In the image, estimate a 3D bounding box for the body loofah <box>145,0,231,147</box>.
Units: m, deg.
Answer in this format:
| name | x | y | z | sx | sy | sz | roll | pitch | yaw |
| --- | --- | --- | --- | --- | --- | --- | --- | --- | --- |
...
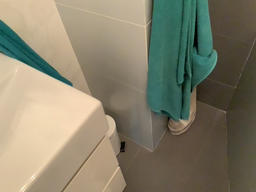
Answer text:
| name | x | y | z | sx | sy | sz | roll | pitch | yaw |
| --- | --- | --- | --- | --- | --- | --- | --- | --- | --- |
| body loofah | 0.210 | -0.200 | 0.780 | 0.200 | 1.160 | 0.220 | 23 | 58 | 23 |
